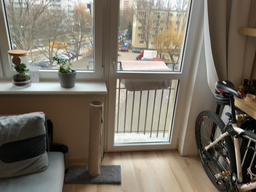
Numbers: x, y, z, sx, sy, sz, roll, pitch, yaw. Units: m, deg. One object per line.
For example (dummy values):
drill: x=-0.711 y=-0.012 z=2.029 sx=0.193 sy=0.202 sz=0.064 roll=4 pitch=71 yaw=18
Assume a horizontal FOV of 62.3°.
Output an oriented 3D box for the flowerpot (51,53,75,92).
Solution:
flowerpot: x=-0.590 y=-0.220 z=1.950 sx=0.160 sy=0.280 sz=0.290 roll=0 pitch=22 yaw=-9
